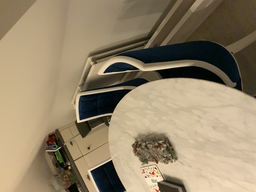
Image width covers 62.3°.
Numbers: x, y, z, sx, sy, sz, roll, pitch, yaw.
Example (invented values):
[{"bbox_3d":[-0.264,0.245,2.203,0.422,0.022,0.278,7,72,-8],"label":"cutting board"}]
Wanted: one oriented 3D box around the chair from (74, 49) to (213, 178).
[{"bbox_3d":[0.100,0.100,1.810,0.610,0.900,0.530,50,147,27],"label":"chair"}]
